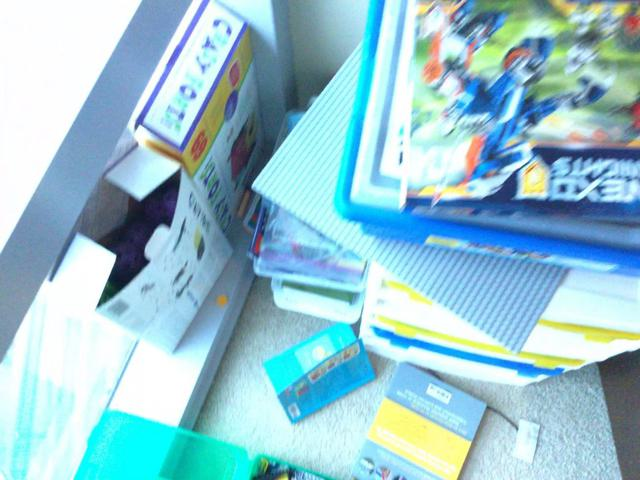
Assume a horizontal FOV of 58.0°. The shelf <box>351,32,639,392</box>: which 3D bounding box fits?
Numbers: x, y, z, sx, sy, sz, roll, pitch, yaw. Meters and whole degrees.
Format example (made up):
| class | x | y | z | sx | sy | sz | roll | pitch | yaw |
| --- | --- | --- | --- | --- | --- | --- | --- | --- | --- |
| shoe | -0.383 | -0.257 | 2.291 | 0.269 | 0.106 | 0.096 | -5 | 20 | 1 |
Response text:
| class | x | y | z | sx | sy | sz | roll | pitch | yaw |
| --- | --- | --- | --- | --- | --- | --- | --- | --- | --- |
| shelf | 0.270 | 0.030 | 0.950 | 0.430 | 0.640 | 0.370 | -1 | 70 | 3 |
